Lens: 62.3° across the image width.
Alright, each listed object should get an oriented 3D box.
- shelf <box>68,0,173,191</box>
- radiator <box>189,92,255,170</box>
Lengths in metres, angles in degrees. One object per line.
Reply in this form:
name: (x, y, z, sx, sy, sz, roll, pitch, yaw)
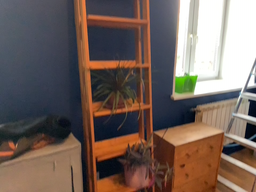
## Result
shelf: (-0.070, 0.110, 1.610, 0.570, 2.000, 0.440, -7, 15, -30)
radiator: (1.200, 0.390, 2.660, 1.030, 0.770, 0.150, -8, 16, -33)
